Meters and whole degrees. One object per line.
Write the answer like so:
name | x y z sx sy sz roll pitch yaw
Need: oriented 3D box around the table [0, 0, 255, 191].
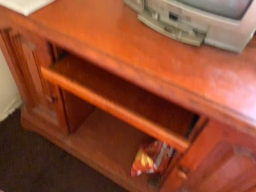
table | 0.040 -0.030 0.900 1.130 0.740 0.560 27 52 14
